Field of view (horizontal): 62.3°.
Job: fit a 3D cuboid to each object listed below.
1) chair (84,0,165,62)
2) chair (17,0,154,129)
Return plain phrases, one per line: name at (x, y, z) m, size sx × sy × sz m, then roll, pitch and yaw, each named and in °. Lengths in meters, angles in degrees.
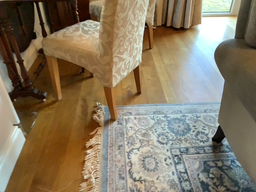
chair at (-0.040, -0.970, 2.140) m, size 0.620 × 0.970 × 0.540 m, roll -25°, pitch 43°, yaw -29°
chair at (-0.250, -0.400, 1.400) m, size 0.670 × 0.960 × 0.470 m, roll 22°, pitch 42°, yaw 26°
